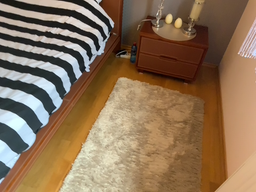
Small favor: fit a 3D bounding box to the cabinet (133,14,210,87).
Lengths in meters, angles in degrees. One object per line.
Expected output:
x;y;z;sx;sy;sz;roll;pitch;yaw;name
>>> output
0.420;-0.460;2.110;0.620;0.440;0.430;14;44;7;cabinet
